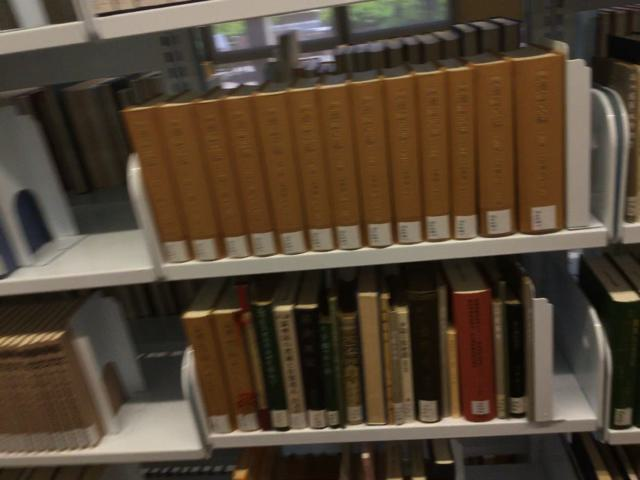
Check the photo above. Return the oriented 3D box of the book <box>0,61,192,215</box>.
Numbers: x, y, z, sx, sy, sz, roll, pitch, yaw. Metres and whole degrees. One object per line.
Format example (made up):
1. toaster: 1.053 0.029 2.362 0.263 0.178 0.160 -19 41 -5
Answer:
1. book: -0.530 -0.200 1.170 0.480 0.260 0.110 -4 23 5

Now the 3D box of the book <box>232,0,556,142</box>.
1. book: 0.140 -0.350 1.140 0.570 0.230 0.170 -4 23 5

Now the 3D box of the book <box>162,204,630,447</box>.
1. book: 0.110 0.130 0.940 0.620 0.260 0.260 -4 23 5
